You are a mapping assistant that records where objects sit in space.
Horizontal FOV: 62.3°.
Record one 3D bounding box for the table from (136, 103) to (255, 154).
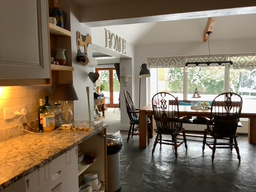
[{"bbox_3d":[1.430,0.590,4.390,2.370,0.760,0.950,0,5,16],"label":"table"}]
